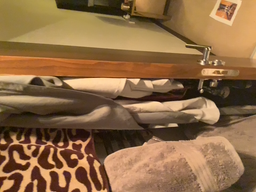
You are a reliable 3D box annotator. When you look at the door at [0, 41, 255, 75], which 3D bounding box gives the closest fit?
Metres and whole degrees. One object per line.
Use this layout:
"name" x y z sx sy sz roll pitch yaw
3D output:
"door" 0.130 -0.190 1.050 0.810 1.990 0.040 -146 57 -64
